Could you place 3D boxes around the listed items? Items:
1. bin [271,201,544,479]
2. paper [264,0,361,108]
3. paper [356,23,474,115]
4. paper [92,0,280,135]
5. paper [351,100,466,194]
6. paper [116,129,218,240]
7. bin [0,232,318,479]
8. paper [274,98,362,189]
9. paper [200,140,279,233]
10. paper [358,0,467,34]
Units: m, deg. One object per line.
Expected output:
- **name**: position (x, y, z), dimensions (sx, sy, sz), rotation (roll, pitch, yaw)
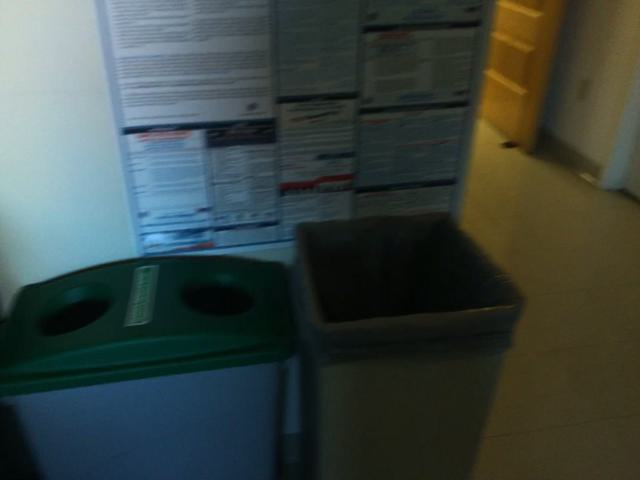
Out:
- **bin**: position (0.140, 0.230, 1.160), dimensions (0.390, 0.460, 0.350), rotation (-9, 32, -9)
- **paper**: position (-0.010, -0.350, 0.990), dimensions (0.160, 0.230, 0.020), rotation (-9, 32, -9)
- **paper**: position (0.170, -0.310, 1.050), dimensions (0.210, 0.140, 0.020), rotation (-9, 32, -9)
- **paper**: position (-0.220, -0.370, 0.950), dimensions (0.280, 0.380, 0.010), rotation (-9, 32, -9)
- **paper**: position (0.170, -0.180, 1.130), dimensions (0.220, 0.160, 0.020), rotation (-9, 32, -9)
- **paper**: position (-0.280, -0.100, 1.080), dimensions (0.150, 0.200, 0.020), rotation (-9, 32, -9)
- **bin**: position (-0.300, 0.300, 1.140), dimensions (0.530, 0.480, 0.290), rotation (-9, 32, -9)
- **paper**: position (0.000, -0.180, 1.090), dimensions (0.160, 0.160, 0.010), rotation (-9, 32, -9)
- **paper**: position (-0.150, -0.100, 1.100), dimensions (0.130, 0.170, 0.020), rotation (-9, 32, -9)
- **paper**: position (0.160, -0.420, 0.990), dimensions (0.190, 0.110, 0.020), rotation (-9, 32, -9)
